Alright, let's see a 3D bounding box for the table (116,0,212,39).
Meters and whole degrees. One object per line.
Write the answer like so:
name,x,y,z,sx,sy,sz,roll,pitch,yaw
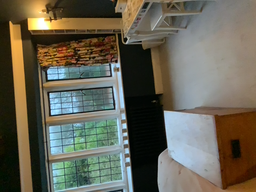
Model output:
table,0.320,-1.070,2.450,1.000,0.730,0.490,164,100,-77
